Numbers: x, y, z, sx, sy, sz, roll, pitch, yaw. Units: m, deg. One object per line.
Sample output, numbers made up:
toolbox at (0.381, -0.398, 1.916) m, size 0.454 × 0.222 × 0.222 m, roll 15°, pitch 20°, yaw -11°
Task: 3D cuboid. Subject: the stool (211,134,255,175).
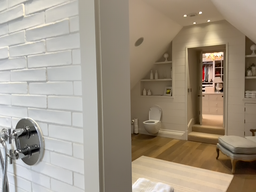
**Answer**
stool at (1.890, 1.030, 3.880) m, size 0.450 × 0.460 × 0.830 m, roll 0°, pitch 4°, yaw 5°
